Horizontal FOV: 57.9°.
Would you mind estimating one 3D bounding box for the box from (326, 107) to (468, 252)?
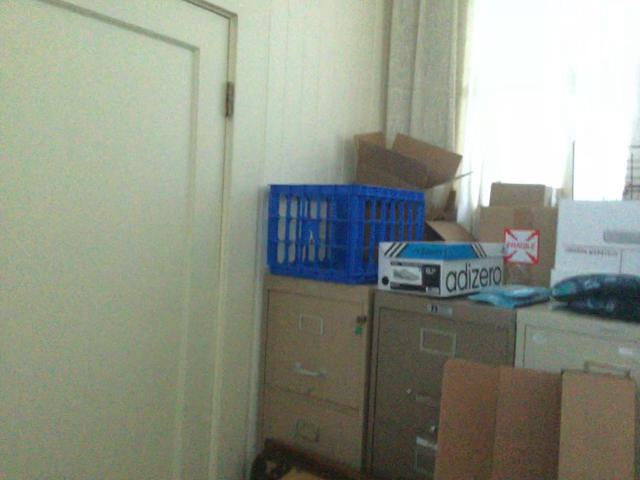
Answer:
[{"bbox_3d":[0.260,-0.190,1.950,0.350,0.430,0.290,5,2,38],"label":"box"}]

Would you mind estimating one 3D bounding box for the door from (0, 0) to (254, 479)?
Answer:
[{"bbox_3d":[-0.520,0.380,1.290,0.100,1.990,0.780,5,2,38],"label":"door"}]

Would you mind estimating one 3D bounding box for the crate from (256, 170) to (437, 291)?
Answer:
[{"bbox_3d":[0.090,-0.030,1.750,0.350,0.310,0.420,5,2,38],"label":"crate"}]
